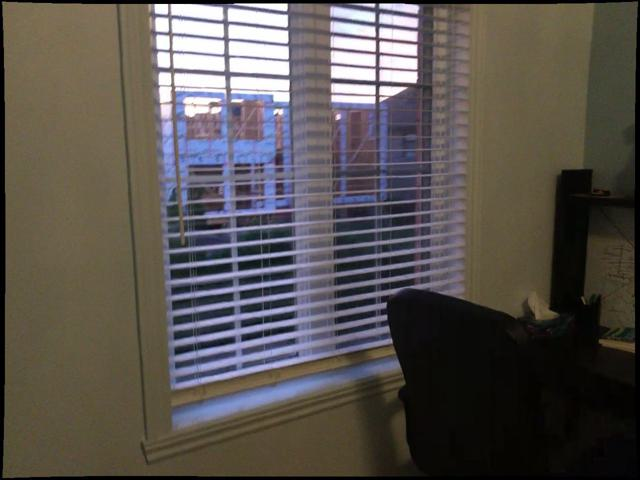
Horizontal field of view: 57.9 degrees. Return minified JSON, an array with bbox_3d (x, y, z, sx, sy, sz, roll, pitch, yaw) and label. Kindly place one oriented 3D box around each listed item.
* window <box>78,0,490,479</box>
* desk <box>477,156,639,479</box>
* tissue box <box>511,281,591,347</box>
[{"bbox_3d":[-0.020,-0.100,1.840,1.259,1.331,0.270,-8,12,-32],"label":"window"},{"bbox_3d":[1.169,0.440,1.890,0.600,1.371,1.130,-8,12,-31],"label":"desk"},{"bbox_3d":[0.899,0.280,2.250,0.270,0.180,0.150,-8,12,-32],"label":"tissue box"}]
